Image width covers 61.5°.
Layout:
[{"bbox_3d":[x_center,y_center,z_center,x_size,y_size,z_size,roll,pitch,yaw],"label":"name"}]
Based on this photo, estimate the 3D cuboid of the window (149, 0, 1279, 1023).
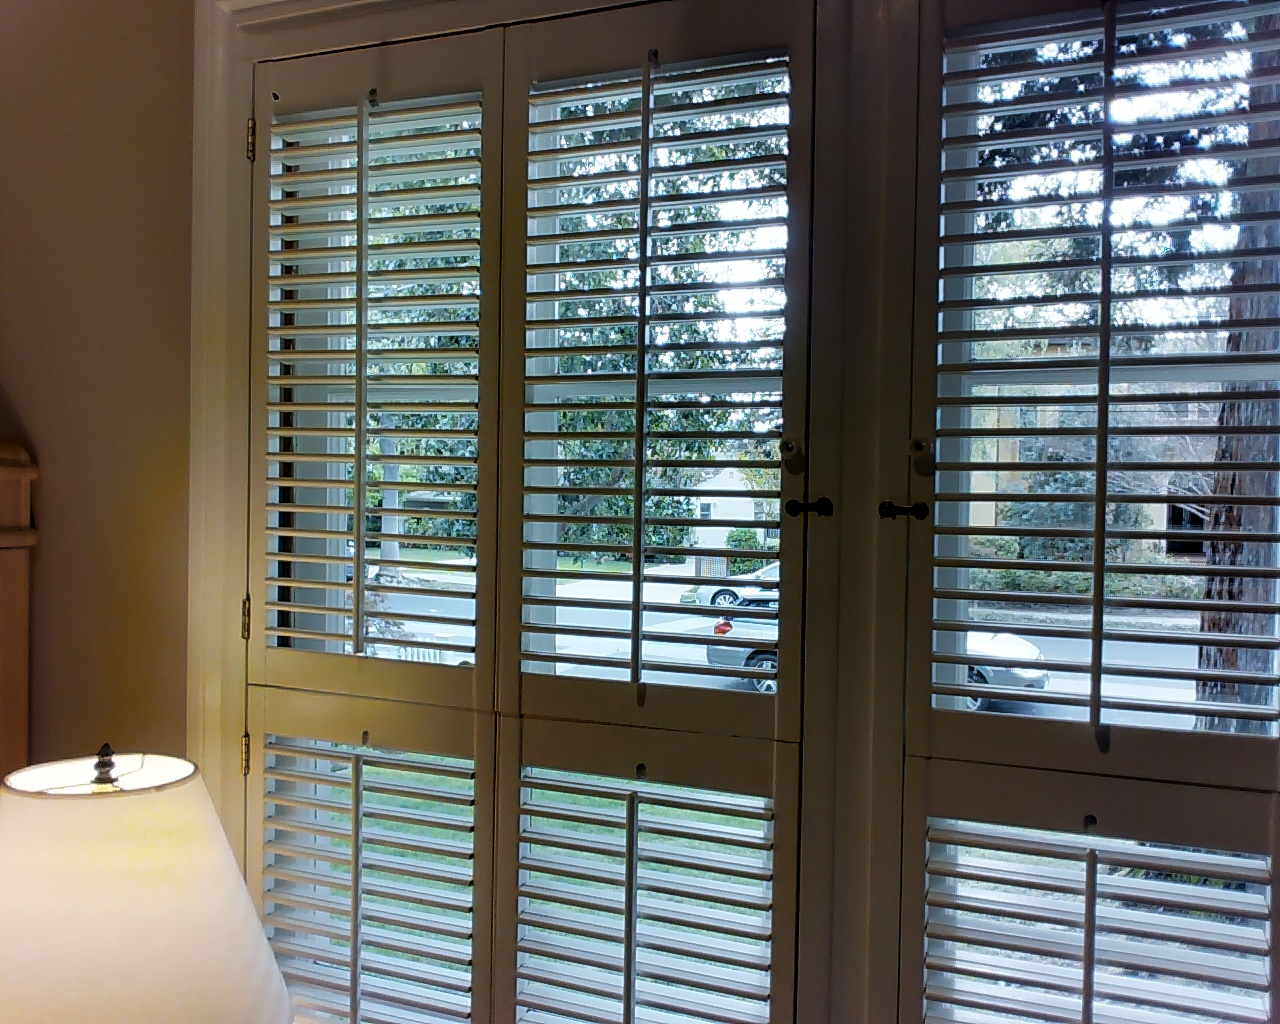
[{"bbox_3d":[0.190,0.110,0.900,1.400,1.360,0.160,2,1,22],"label":"window"}]
